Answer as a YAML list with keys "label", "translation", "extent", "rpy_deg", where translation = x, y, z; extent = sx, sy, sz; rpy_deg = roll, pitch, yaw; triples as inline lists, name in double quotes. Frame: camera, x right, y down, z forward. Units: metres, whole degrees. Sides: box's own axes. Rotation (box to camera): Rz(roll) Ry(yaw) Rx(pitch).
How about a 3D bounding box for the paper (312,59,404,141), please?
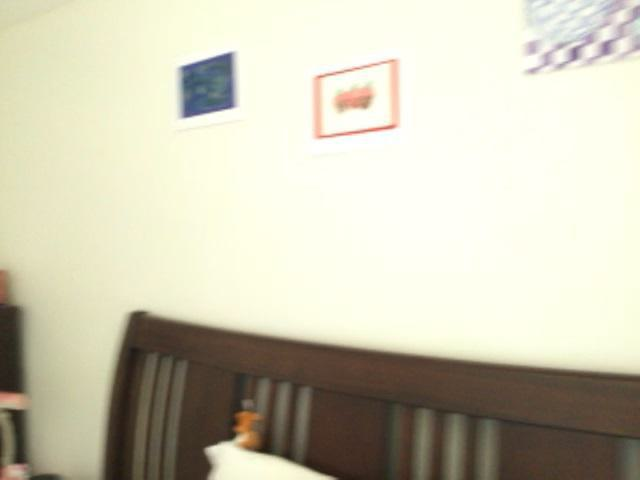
- label: "paper"
  translation: [0.080, -0.310, 1.300]
  extent: [0.230, 0.150, 0.020]
  rpy_deg: [0, 0, 36]

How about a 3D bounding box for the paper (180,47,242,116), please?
- label: "paper"
  translation: [-0.300, -0.430, 1.580]
  extent: [0.220, 0.150, 0.020]
  rpy_deg: [0, 0, 36]

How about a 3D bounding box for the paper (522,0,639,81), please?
- label: "paper"
  translation: [0.490, -0.400, 0.980]
  extent: [0.280, 0.210, 0.030]
  rpy_deg: [0, 0, 36]
